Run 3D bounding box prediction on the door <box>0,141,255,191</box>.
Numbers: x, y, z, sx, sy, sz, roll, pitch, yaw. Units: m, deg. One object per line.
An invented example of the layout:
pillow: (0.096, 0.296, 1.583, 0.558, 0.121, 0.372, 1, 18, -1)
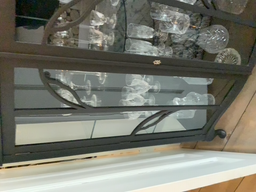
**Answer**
door: (-0.310, 0.320, 0.850, 0.860, 2.170, 0.030, -16, 76, 62)
